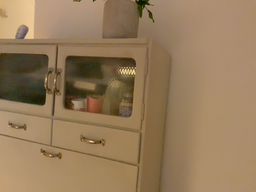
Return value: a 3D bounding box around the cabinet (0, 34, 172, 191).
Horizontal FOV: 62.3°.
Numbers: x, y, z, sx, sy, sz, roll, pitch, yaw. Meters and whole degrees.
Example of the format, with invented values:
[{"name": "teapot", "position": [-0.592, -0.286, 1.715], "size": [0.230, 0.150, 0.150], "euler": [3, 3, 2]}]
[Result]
[{"name": "cabinet", "position": [-0.370, 0.610, 1.240], "size": [1.000, 1.810, 0.450], "euler": [6, 5, 21]}]
